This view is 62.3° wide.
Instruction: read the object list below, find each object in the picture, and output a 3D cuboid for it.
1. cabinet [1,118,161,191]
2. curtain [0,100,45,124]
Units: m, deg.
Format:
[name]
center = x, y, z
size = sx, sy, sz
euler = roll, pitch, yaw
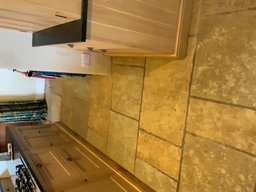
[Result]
[cabinet]
center = -0.670, 1.070, 2.430
size = 3.740, 0.910, 0.700
euler = 15, 102, 51
[curtain]
center = -2.740, 0.330, 4.250
size = 0.250, 2.020, 0.440
euler = 15, 102, 51
